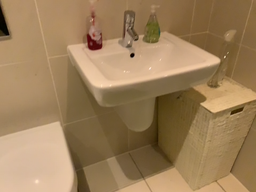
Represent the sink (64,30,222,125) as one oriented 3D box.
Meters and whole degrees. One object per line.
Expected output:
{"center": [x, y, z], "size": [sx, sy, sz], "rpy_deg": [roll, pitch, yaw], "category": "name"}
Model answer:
{"center": [0.040, -0.130, 0.950], "size": [0.540, 0.160, 0.420], "rpy_deg": [-14, 36, -20], "category": "sink"}
